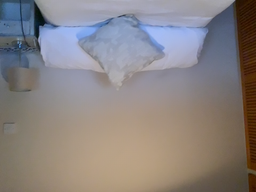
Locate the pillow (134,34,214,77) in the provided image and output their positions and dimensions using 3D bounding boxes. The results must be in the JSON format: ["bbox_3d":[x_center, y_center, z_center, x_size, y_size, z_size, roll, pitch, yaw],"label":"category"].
[{"bbox_3d":[0.360,-0.350,1.780,0.540,0.370,0.190,-2,129,-13],"label":"pillow"}]
